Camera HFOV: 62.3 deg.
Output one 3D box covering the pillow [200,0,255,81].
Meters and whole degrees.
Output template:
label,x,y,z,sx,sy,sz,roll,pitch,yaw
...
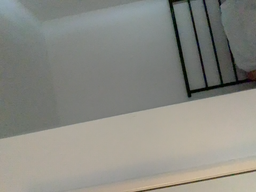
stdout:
label,x,y,z,sx,sy,sz,roll,pitch,yaw
pillow,0.900,-0.570,1.470,1.180,0.290,0.750,51,-152,-86
